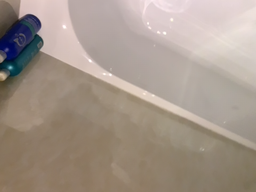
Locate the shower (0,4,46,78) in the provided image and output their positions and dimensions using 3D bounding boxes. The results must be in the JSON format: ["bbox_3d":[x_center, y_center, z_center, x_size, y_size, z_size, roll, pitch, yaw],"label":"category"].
[{"bbox_3d":[-0.400,-0.200,0.750,0.110,0.220,0.130,25,133,-12],"label":"shower"}]
